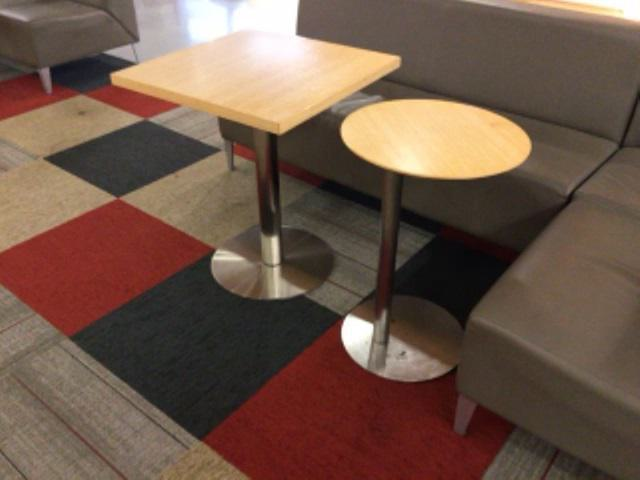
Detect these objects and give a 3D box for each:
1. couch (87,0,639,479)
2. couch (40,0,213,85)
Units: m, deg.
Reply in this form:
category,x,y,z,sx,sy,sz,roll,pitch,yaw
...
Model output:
category,x,y,z,sx,sy,sz,roll,pitch,yaw
couch,0.500,-0.280,1.910,1.360,0.810,2.250,-31,45,-34
couch,-1.210,-1.500,3.610,0.850,0.720,0.510,-31,45,-34
